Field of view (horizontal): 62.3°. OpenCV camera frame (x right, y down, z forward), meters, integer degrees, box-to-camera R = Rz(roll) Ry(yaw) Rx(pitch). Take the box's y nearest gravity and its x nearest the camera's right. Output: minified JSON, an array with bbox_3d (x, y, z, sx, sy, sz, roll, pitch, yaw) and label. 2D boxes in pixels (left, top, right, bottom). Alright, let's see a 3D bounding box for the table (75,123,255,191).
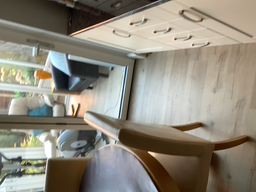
[{"bbox_3d":[0.200,0.880,1.440,1.130,0.770,1.150,12,95,56],"label":"table"}]
